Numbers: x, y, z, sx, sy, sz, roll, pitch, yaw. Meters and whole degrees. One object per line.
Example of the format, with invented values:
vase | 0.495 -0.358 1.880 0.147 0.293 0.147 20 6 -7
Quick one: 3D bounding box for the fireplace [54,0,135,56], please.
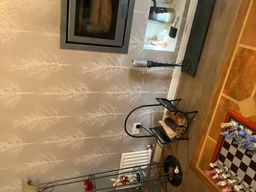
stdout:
fireplace | -0.320 -0.830 1.970 0.380 0.640 0.780 -133 48 -56
